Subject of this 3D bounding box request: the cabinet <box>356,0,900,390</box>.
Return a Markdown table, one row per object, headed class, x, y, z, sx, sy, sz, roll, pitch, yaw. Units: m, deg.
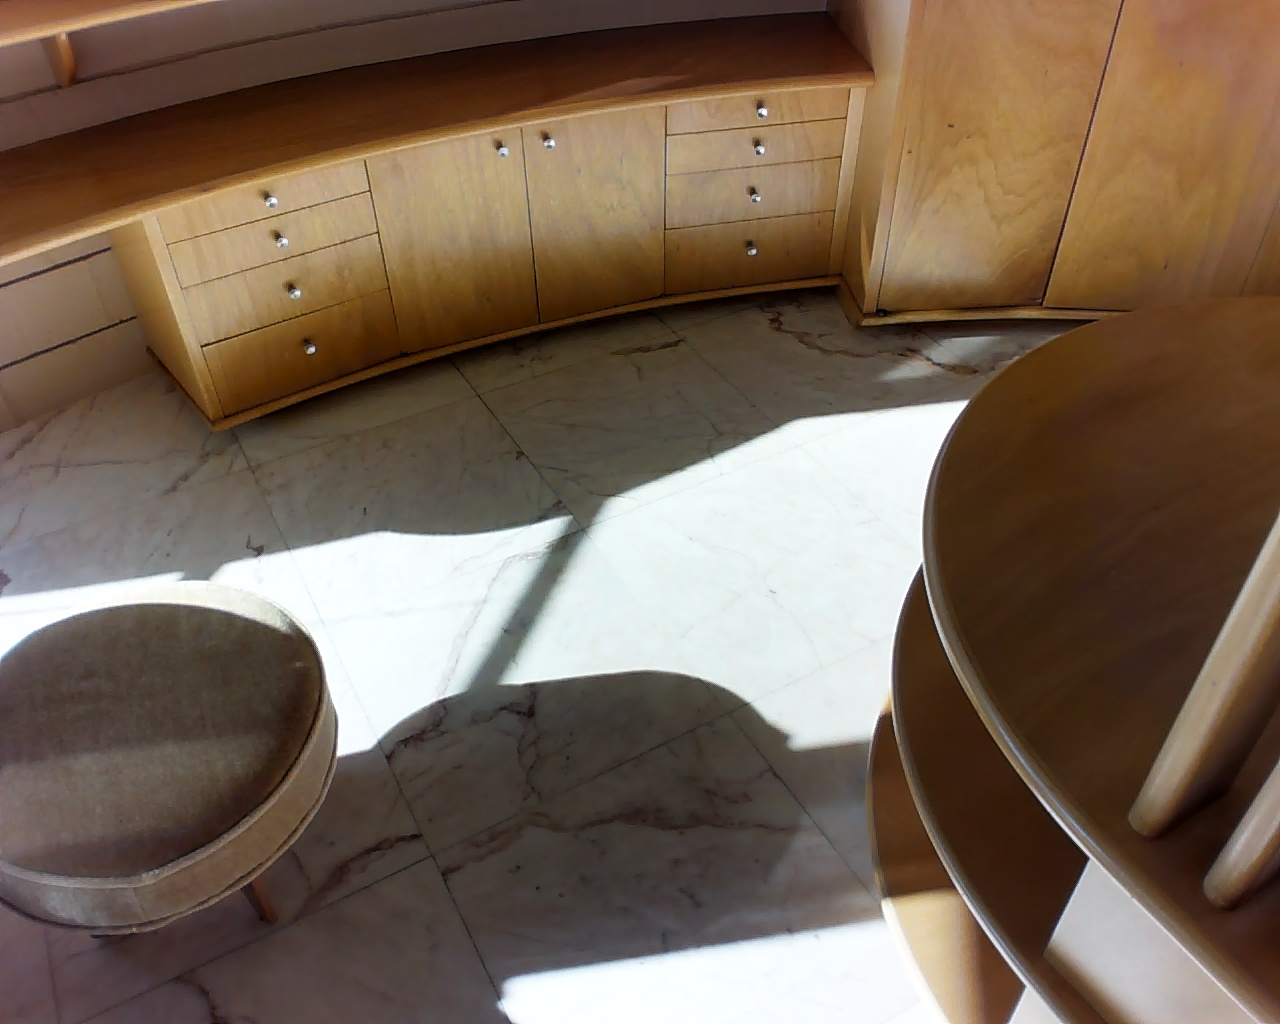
| class | x | y | z | sx | sy | sz | roll | pitch | yaw |
| --- | --- | --- | --- | --- | --- | --- | --- | --- | --- |
| cabinet | -0.040 | -0.930 | 2.960 | 1.260 | 0.740 | 0.590 | -14 | 43 | -13 |
